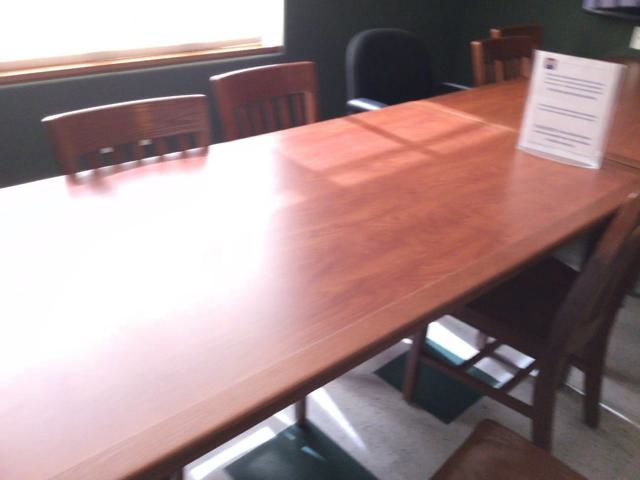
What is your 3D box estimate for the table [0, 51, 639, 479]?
[{"bbox_3d":[0.460,0.040,1.860,3.140,0.800,1.070,-23,37,-39],"label":"table"}]
